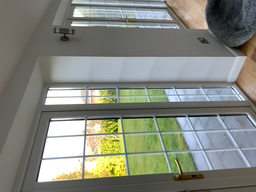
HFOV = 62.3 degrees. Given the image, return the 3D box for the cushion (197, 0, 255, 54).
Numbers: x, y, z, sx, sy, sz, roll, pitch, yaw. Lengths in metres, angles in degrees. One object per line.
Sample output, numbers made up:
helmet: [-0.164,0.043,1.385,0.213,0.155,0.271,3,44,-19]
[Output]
cushion: [1.090,-0.980,2.280,0.900,0.170,0.680,-101,14,-48]
